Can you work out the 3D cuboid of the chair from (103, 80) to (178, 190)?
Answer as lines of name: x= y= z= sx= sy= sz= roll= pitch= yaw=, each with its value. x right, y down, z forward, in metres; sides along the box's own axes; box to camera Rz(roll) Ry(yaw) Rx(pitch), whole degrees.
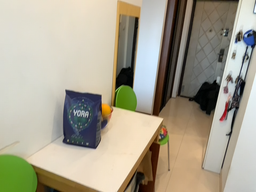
chair: x=0.120 y=0.350 z=2.110 sx=0.530 sy=0.870 sz=0.440 roll=13 pitch=20 yaw=20
